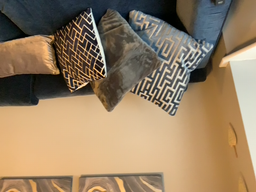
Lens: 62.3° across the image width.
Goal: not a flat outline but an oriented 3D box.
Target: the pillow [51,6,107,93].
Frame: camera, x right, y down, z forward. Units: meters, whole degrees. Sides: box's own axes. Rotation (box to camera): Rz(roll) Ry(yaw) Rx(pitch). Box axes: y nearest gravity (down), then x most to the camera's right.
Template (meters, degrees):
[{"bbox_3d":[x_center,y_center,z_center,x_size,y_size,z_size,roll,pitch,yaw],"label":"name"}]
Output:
[{"bbox_3d":[-0.310,-0.280,1.310,0.170,0.340,0.370,18,131,-31],"label":"pillow"}]

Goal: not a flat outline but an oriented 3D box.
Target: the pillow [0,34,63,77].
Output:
[{"bbox_3d":[-0.720,-0.280,1.470,0.500,0.260,0.110,-24,115,-10],"label":"pillow"}]

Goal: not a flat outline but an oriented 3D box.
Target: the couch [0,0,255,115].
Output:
[{"bbox_3d":[-0.780,-0.410,1.430,2.610,0.740,1.130,-4,159,8],"label":"couch"}]
